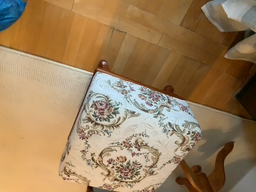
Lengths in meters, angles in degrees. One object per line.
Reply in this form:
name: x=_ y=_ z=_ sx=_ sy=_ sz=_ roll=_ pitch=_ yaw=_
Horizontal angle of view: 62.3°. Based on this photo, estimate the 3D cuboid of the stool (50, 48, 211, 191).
stool: x=-0.020 y=0.130 z=0.880 sx=0.420 sy=0.350 sz=0.420 roll=19 pitch=121 yaw=-17
